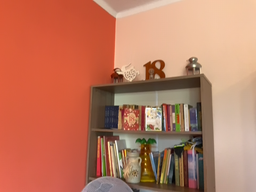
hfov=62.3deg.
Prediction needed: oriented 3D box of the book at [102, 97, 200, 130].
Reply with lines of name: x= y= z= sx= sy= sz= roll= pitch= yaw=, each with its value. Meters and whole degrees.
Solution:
book: x=0.170 y=0.150 z=1.680 sx=0.730 sy=0.220 sz=0.230 roll=-3 pitch=-10 yaw=28
